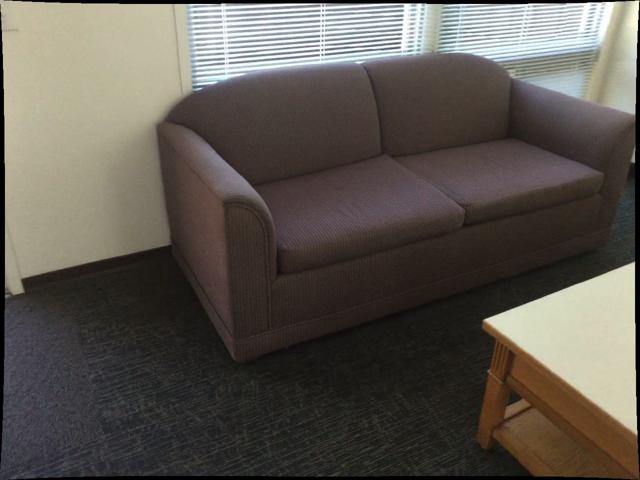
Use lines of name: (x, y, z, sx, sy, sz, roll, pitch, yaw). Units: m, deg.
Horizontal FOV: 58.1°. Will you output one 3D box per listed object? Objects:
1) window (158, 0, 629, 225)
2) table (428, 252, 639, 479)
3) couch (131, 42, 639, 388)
window: (0.509, -1.252, 2.570, 2.417, 1.992, 0.290, -14, 34, -24)
table: (0.978, 0.421, 1.550, 1.129, 0.441, 0.680, -14, 34, -24)
couch: (0.280, -0.260, 2.400, 1.788, 0.781, 0.930, -14, 34, -24)
